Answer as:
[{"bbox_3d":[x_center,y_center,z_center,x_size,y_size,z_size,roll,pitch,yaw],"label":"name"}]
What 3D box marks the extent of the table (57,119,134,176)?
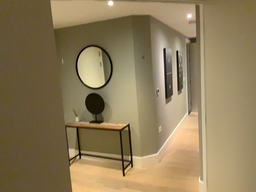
[{"bbox_3d":[-0.550,0.800,3.470,1.230,0.710,0.290,0,9,26],"label":"table"}]
